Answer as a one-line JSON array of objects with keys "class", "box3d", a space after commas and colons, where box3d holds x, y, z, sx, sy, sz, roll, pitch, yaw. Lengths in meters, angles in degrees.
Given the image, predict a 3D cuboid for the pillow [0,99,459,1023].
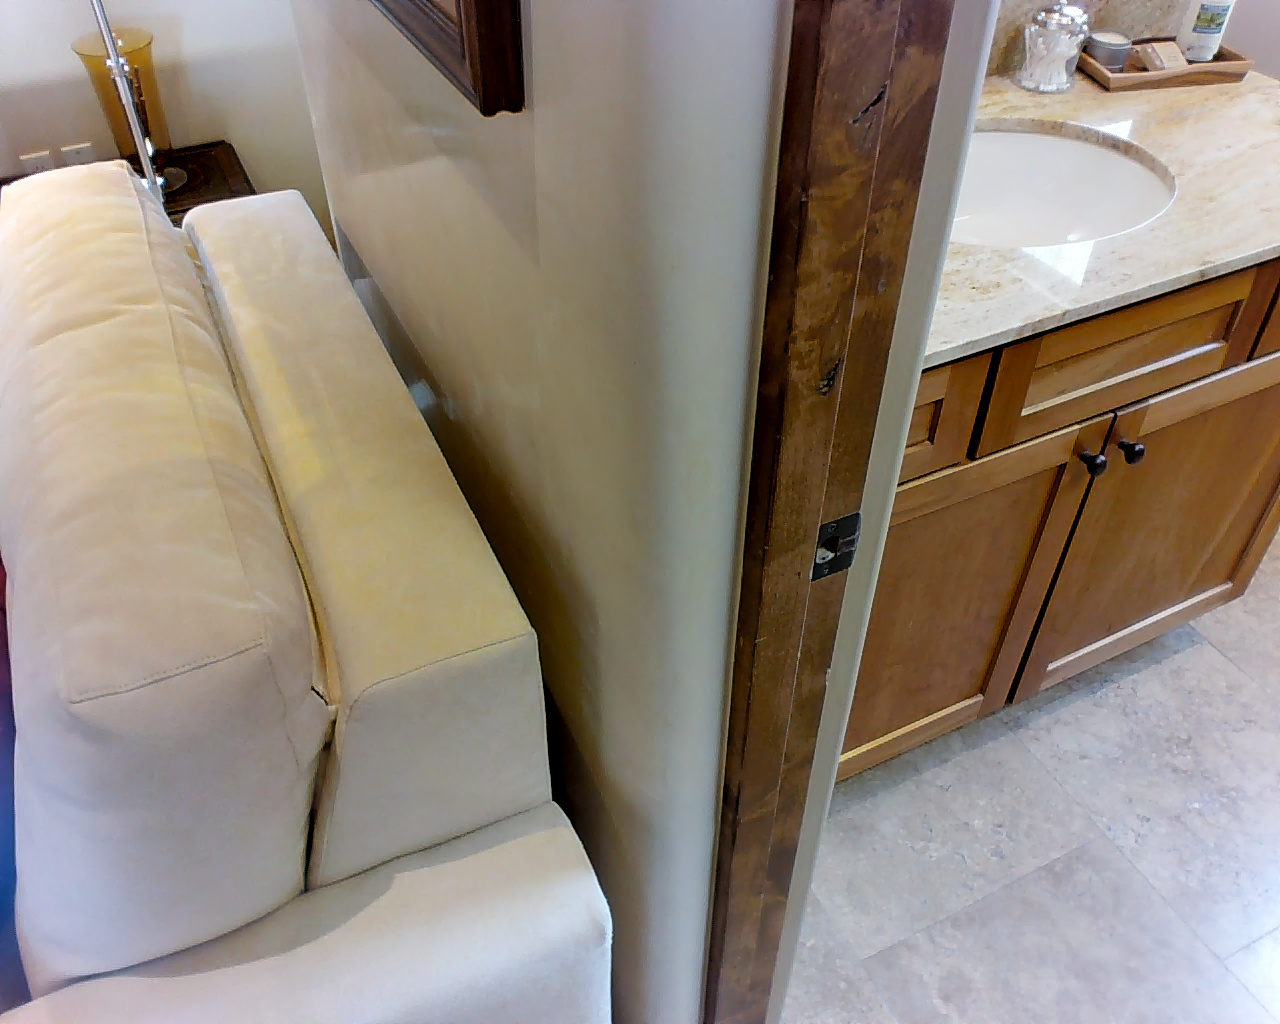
[{"class": "pillow", "box3d": [-0.550, 0.050, 1.050, 0.300, 0.510, 0.890, -30, 48, -6]}]
